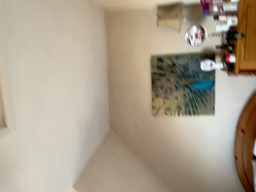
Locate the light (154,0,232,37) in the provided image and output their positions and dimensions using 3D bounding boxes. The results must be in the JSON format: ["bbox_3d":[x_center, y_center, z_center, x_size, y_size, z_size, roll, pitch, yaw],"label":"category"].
[{"bbox_3d":[0.550,-0.710,1.920,0.320,0.610,0.260,-74,-18,-61],"label":"light"}]
